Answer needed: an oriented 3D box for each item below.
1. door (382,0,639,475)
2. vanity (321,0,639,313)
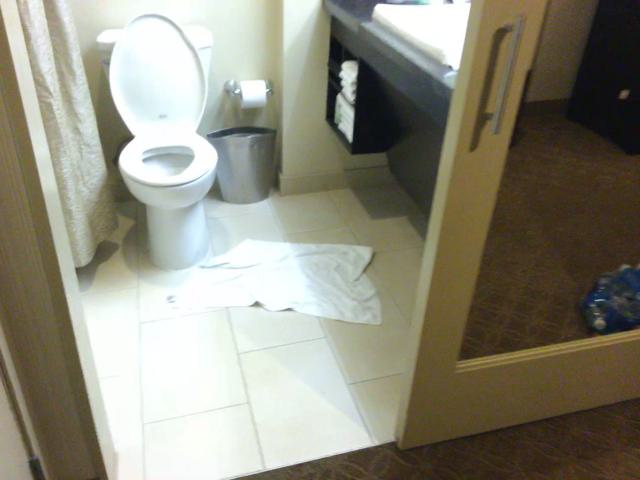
[{"bbox_3d":[0.690,-0.120,1.290,1.040,1.470,0.150,-8,32,-11],"label":"door"},{"bbox_3d":[0.460,-0.480,1.990,0.610,0.710,1.320,-8,32,-11],"label":"vanity"}]
